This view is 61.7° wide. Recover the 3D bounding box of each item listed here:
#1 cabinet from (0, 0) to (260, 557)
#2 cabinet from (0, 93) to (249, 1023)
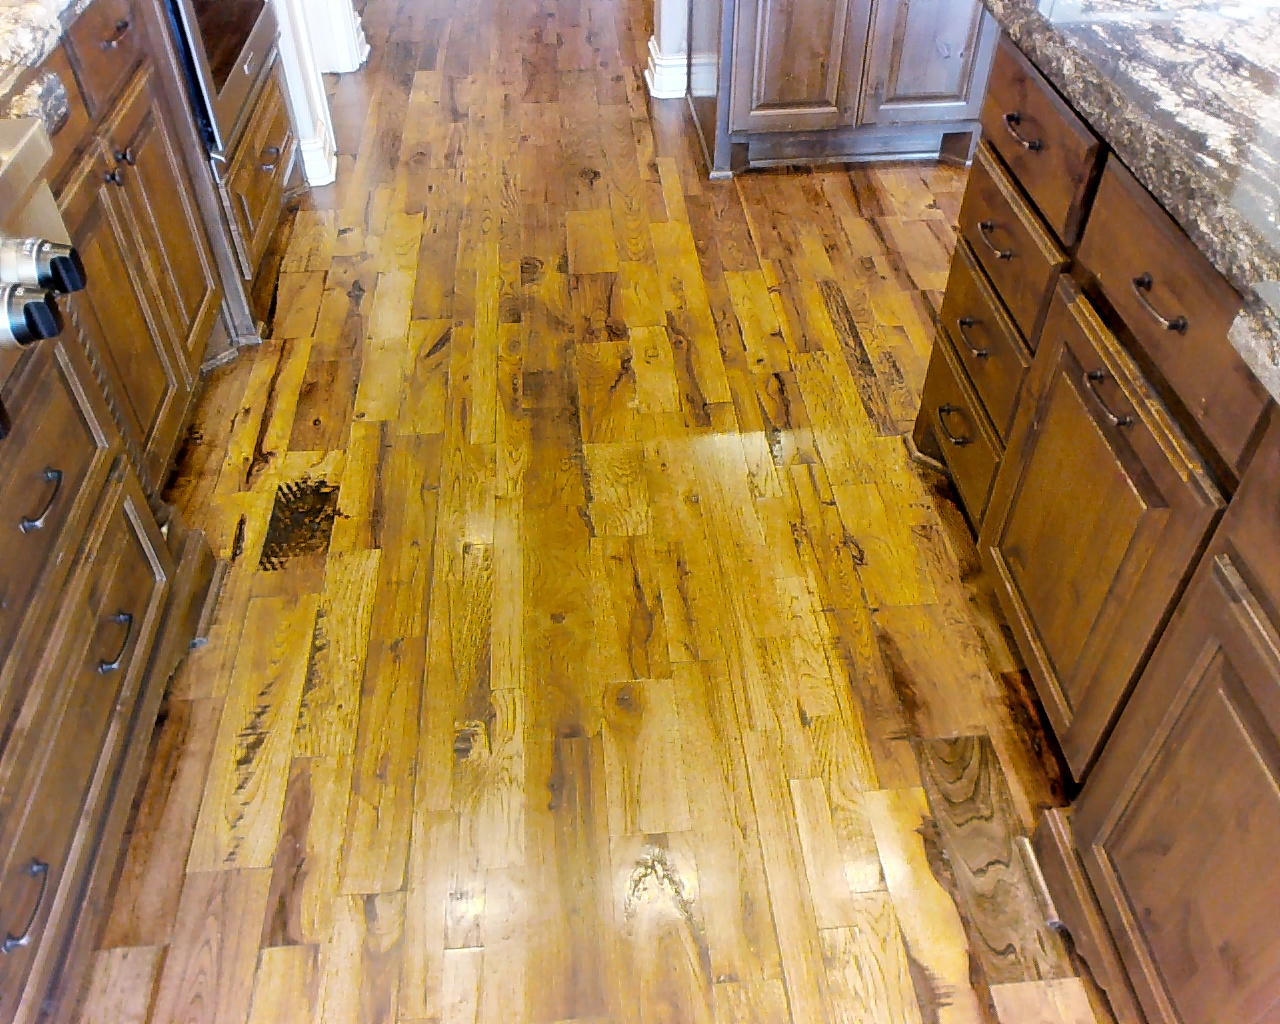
[{"bbox_3d":[-0.930,-0.480,2.010,0.090,0.840,0.750,-4,44,-3],"label":"cabinet"},{"bbox_3d":[-0.770,0.190,1.300,0.130,0.870,1.300,-4,44,-3],"label":"cabinet"}]
